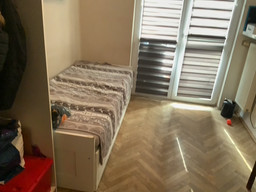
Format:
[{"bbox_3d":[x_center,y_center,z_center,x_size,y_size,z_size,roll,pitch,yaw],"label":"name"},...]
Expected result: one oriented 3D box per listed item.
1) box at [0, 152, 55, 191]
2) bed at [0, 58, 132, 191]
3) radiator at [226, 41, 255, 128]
[{"bbox_3d":[-0.720,0.660,1.490,0.220,0.330,0.370,10,24,9],"label":"box"},{"bbox_3d":[-0.540,0.100,2.660,0.930,0.570,2.130,7,24,4],"label":"bed"},{"bbox_3d":[1.760,-0.160,3.020,0.210,1.120,0.500,5,24,-1],"label":"radiator"}]
